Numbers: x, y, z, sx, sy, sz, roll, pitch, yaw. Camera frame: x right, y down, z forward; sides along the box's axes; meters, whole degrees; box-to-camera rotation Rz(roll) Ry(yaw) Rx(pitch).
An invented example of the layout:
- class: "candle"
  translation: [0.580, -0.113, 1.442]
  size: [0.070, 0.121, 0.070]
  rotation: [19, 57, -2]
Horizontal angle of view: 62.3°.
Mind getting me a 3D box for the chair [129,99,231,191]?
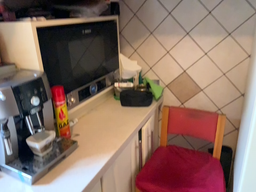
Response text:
- class: "chair"
  translation: [0.300, 0.520, 1.210]
  size: [0.410, 0.850, 0.470]
  rotation: [8, 24, 23]
